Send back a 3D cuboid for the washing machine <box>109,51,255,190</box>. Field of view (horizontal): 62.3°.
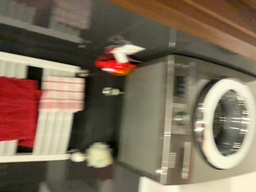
[{"bbox_3d":[0.390,0.150,1.370,0.520,0.820,0.610,-2,82,56],"label":"washing machine"}]
